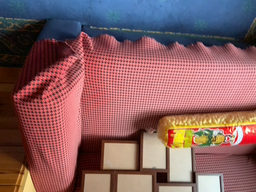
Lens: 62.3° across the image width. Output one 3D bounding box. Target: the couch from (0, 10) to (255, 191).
[{"bbox_3d":[0.290,0.270,1.150,1.450,0.830,1.030,2,132,-7],"label":"couch"}]
